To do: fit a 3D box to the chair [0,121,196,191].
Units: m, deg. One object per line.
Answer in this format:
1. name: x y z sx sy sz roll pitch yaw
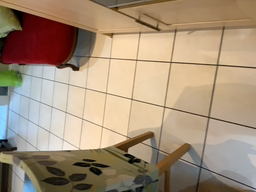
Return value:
1. chair: -0.100 0.500 1.120 0.450 0.940 0.560 13 99 41
